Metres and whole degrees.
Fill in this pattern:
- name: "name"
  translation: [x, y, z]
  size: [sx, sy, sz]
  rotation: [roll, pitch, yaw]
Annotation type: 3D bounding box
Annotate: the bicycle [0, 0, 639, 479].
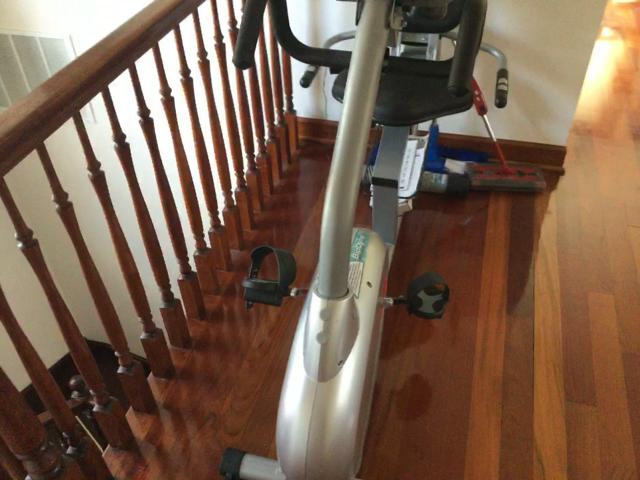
- name: "bicycle"
  translation: [0.130, -0.280, 1.360]
  size: [0.770, 1.230, 1.740]
  rotation: [10, 45, 14]
